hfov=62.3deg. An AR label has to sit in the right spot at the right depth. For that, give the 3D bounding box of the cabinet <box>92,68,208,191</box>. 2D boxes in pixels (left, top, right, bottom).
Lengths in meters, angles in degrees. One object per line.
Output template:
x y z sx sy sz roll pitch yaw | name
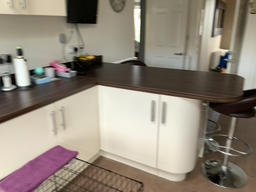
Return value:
0.220 0.260 2.150 0.940 0.900 0.590 10 21 25 | cabinet

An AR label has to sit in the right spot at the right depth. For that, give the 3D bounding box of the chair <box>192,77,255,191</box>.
0.910 0.350 1.910 0.480 0.910 0.430 10 21 25 | chair
